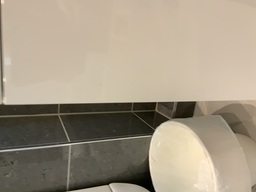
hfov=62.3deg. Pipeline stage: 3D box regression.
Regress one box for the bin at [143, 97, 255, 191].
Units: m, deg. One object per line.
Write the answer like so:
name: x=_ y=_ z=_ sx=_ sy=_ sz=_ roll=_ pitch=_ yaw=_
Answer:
bin: x=0.250 y=0.190 z=0.680 sx=0.310 sy=0.240 sz=0.290 roll=35 pitch=121 yaw=59
